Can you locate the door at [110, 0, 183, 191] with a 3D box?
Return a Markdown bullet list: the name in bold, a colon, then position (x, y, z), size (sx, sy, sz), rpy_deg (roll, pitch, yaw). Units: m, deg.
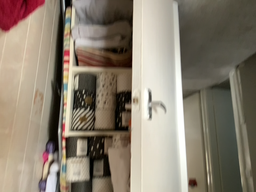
- **door**: position (0.140, 0.000, 1.050), size (0.130, 1.550, 0.730), rpy_deg (-5, 164, 20)
